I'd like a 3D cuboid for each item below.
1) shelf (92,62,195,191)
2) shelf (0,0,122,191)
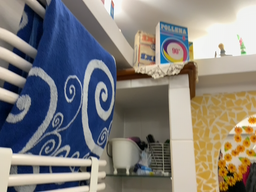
[{"bbox_3d":[0.090,0.470,0.890,0.370,1.130,0.370,-4,-18,15],"label":"shelf"},{"bbox_3d":[-0.170,0.020,0.580,0.160,0.410,0.400,-6,-19,20],"label":"shelf"}]
